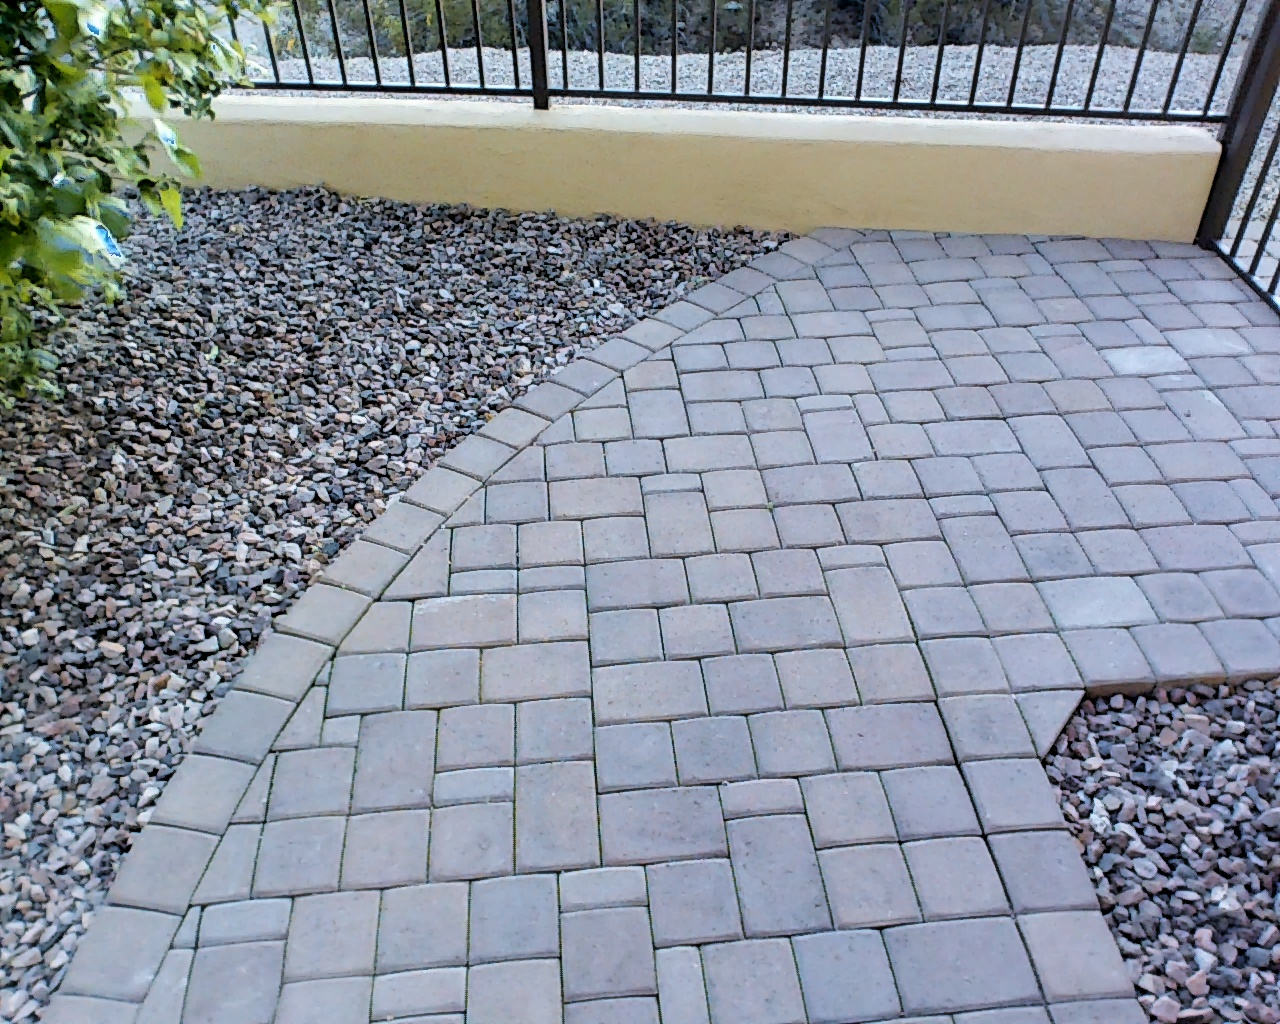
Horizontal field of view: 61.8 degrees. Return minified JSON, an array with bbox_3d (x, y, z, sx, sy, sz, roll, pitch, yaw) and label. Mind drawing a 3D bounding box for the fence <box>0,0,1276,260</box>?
[{"bbox_3d":[-0.160,-1.729,2.910,3.621,1.860,0.350,5,41,7],"label":"fence"}]
